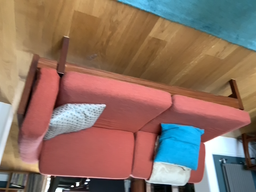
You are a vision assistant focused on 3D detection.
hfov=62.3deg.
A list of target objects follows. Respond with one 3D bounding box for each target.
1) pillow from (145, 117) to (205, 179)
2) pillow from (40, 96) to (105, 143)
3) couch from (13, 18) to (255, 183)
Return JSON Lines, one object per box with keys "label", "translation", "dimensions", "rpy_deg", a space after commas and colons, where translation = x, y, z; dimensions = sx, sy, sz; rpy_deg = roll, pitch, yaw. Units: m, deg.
{"label": "pillow", "translation": [0.420, 0.440, 1.850], "dimensions": [0.430, 0.340, 0.120], "rpy_deg": [-27, 169, -35]}
{"label": "pillow", "translation": [-0.390, 0.180, 1.470], "dimensions": [0.360, 0.160, 0.350], "rpy_deg": [11, 149, -20]}
{"label": "couch", "translation": [0.080, 0.210, 1.730], "dimensions": [1.650, 0.770, 0.830], "rpy_deg": [12, 148, -21]}
